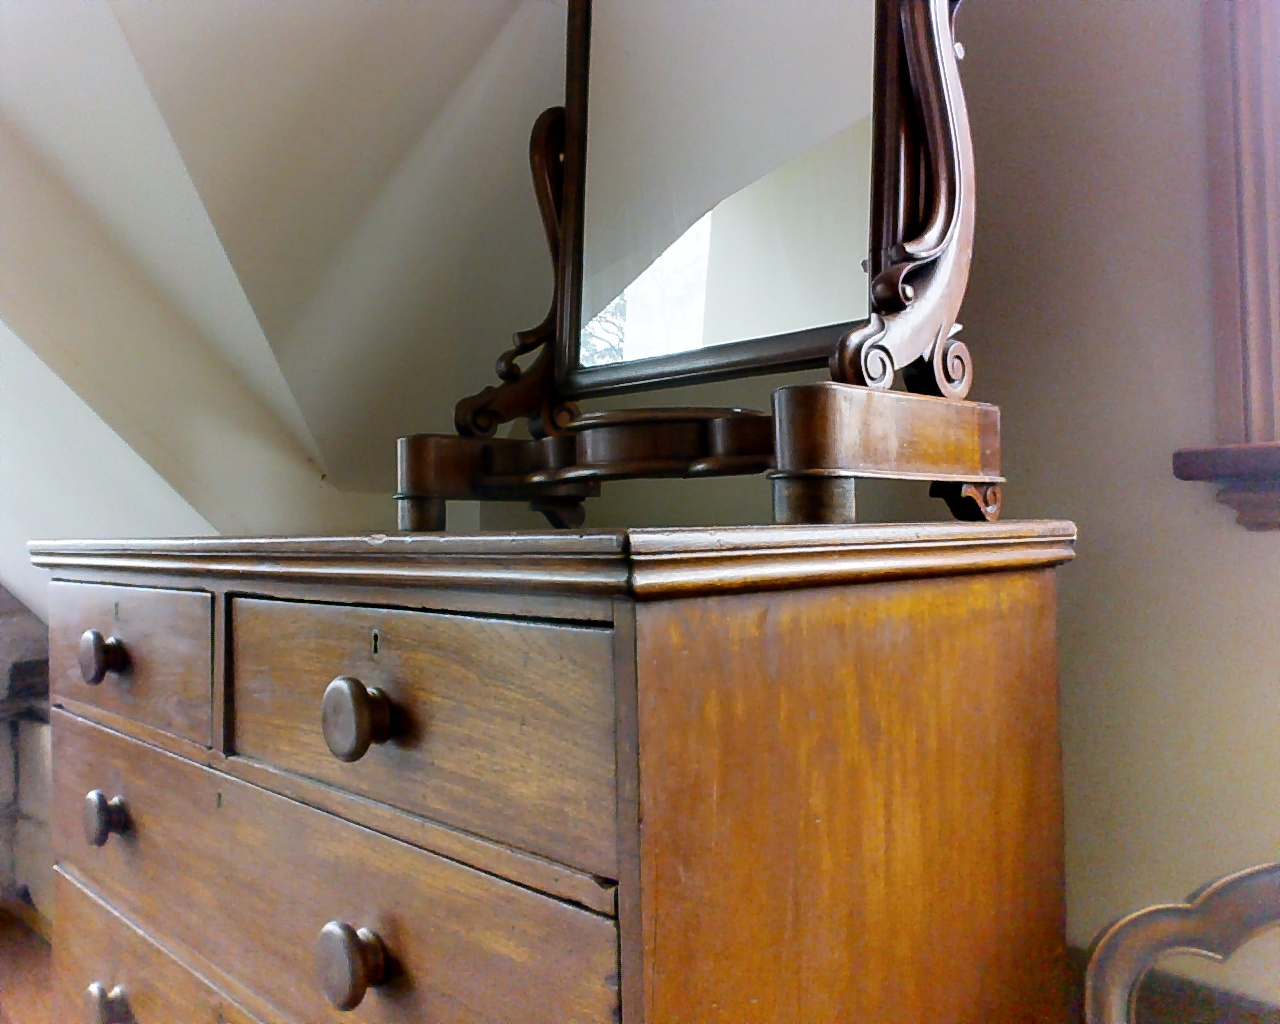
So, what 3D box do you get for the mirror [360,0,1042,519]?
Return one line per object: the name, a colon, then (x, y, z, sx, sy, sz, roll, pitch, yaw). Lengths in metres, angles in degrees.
mirror: (0.010, -0.400, 1.120, 0.330, 0.790, 0.670, 1, -3, -40)
